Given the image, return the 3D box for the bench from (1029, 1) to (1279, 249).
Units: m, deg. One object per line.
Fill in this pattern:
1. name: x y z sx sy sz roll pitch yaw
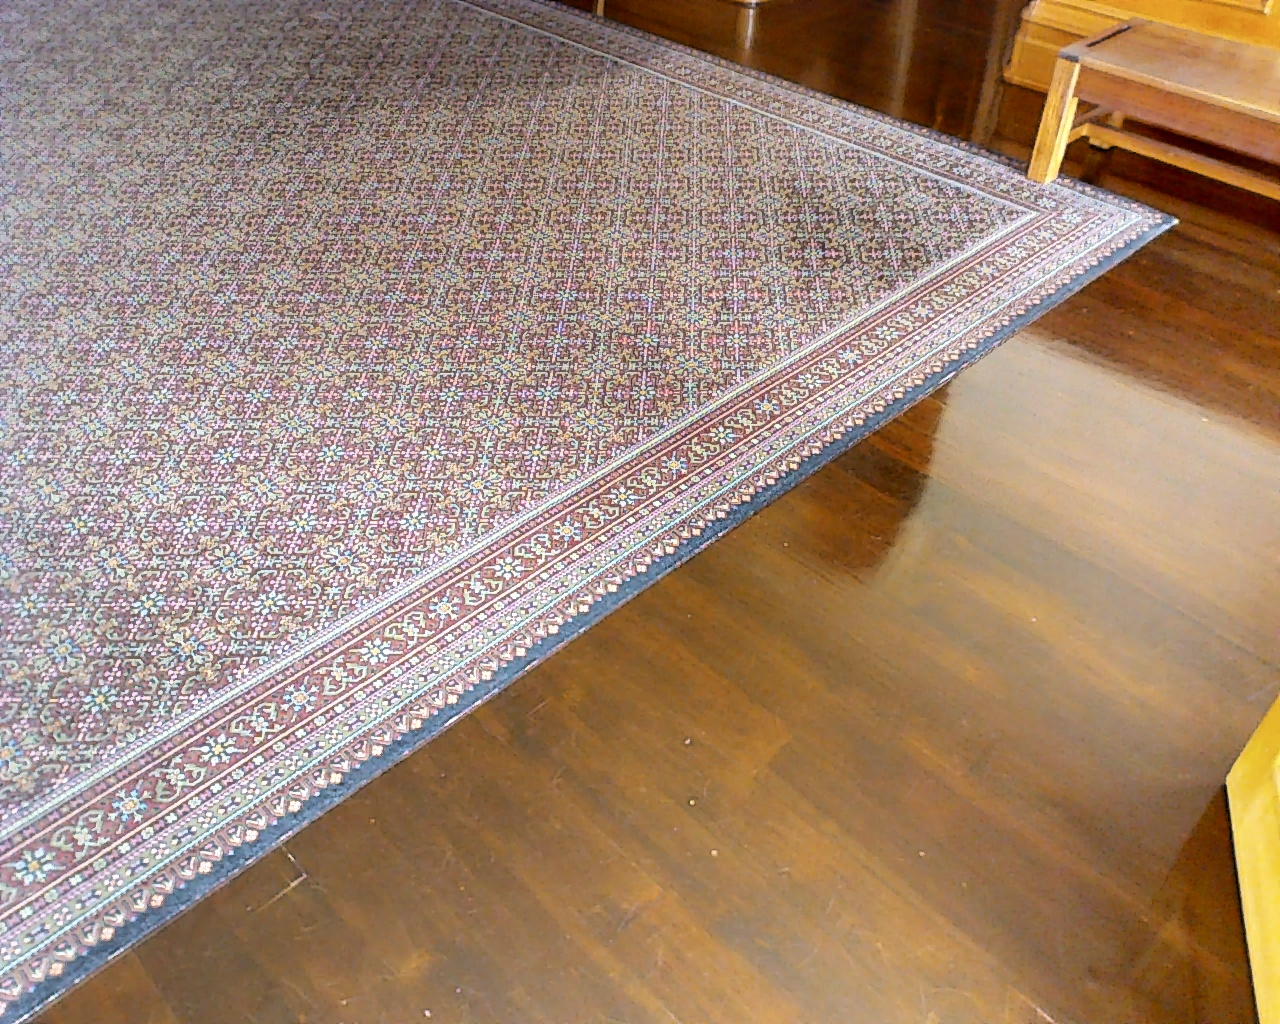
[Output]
1. bench: 1.960 -1.160 3.320 0.550 0.400 1.270 -32 51 -31
